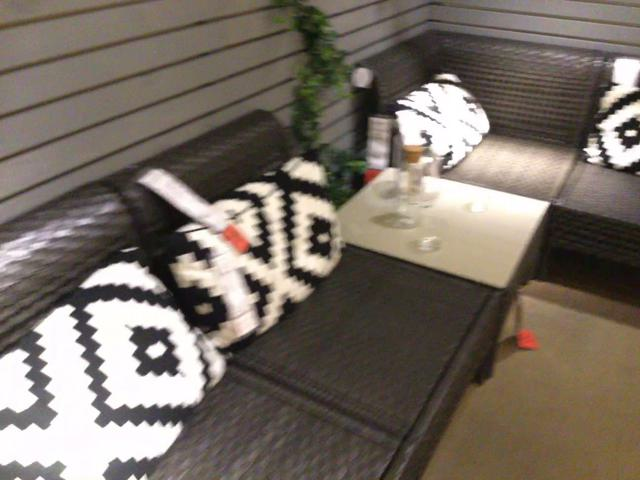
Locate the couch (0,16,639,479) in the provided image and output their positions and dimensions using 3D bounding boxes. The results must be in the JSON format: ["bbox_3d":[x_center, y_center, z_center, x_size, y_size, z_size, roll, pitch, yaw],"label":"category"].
[{"bbox_3d":[0.420,0.070,1.550,1.470,0.860,2.910,14,33,30],"label":"couch"}]

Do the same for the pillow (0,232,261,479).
[{"bbox_3d":[-0.430,0.290,1.060,0.310,0.300,0.680,9,31,24],"label":"pillow"}]

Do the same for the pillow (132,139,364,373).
[{"bbox_3d":[-0.140,0.000,1.540,0.220,0.330,0.650,14,33,30],"label":"pillow"}]

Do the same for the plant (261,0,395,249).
[{"bbox_3d":[0.070,-0.460,2.120,0.170,0.800,0.570,14,33,30],"label":"plant"}]
